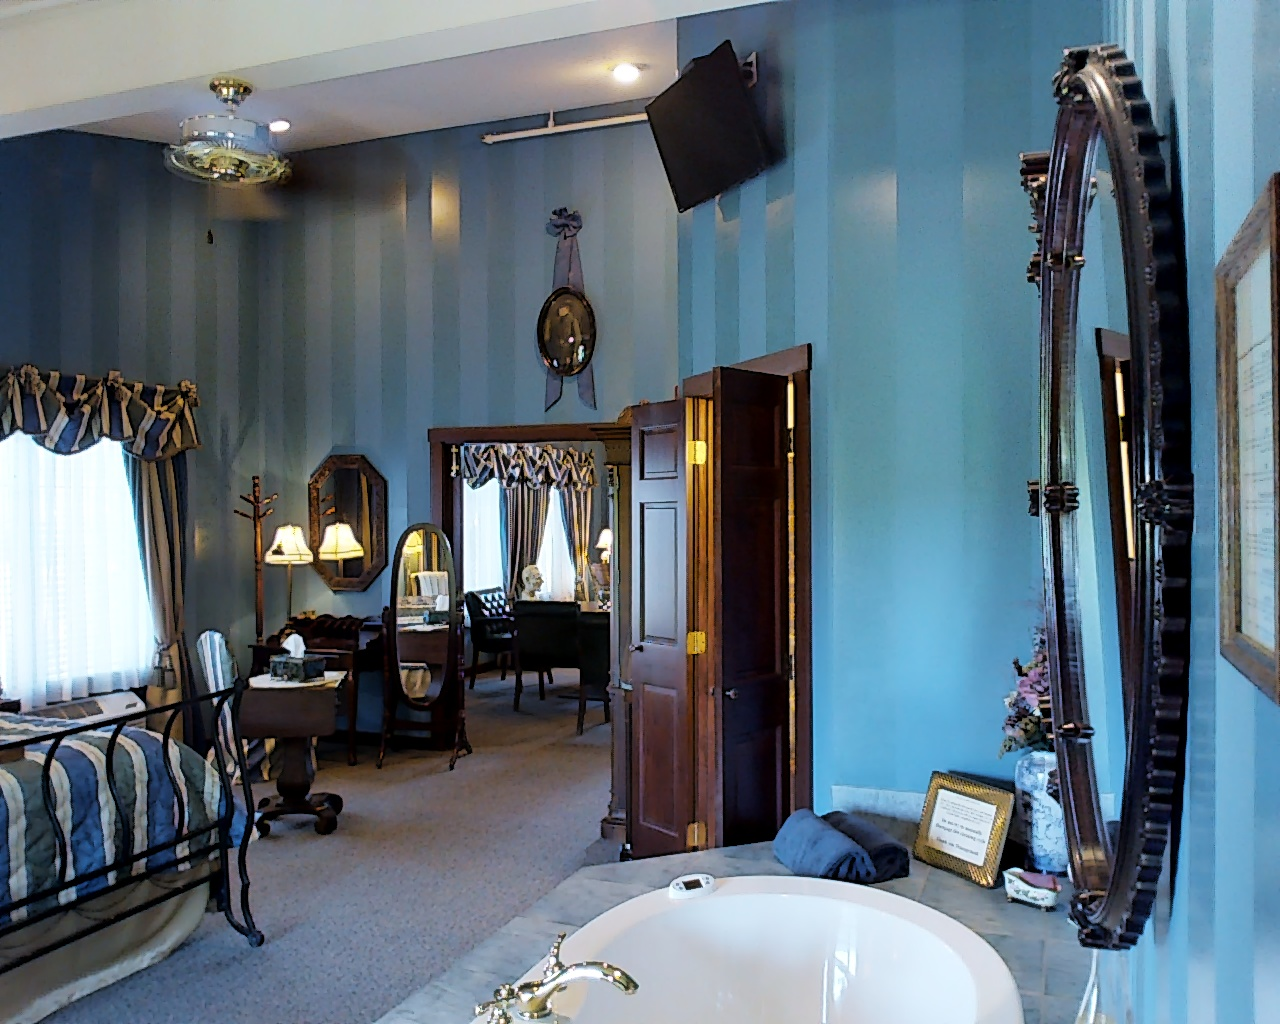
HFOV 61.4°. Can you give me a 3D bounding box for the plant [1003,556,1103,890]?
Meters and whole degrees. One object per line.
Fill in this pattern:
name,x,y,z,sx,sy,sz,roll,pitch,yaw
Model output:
plant,1.210,0.590,3.160,0.260,0.900,0.320,0,1,21
